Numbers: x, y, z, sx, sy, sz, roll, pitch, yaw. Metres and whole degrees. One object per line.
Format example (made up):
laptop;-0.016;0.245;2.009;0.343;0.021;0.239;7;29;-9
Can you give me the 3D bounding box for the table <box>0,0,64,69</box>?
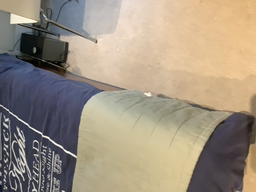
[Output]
table;-0.960;-0.690;1.690;0.380;0.740;0.850;18;103;37
